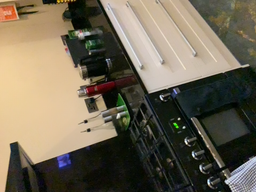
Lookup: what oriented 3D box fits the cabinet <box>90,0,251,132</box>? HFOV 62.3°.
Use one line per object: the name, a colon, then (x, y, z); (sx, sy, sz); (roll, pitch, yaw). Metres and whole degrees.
cabinet: (0.260, -0.390, 1.920); (0.610, 0.910, 1.040); (108, 142, -57)
